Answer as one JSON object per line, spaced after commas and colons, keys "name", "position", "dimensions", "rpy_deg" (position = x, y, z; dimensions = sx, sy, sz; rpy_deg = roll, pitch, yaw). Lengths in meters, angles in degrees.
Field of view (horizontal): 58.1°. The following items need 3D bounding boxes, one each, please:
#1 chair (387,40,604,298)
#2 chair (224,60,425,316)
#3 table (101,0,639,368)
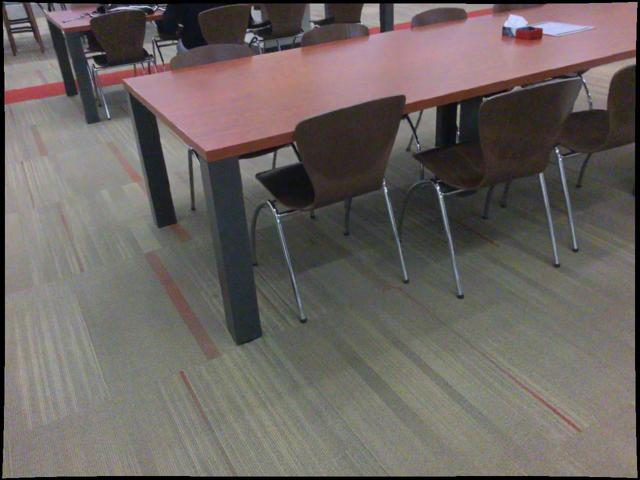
{"name": "chair", "position": [0.658, -0.321, 2.370], "dimensions": [0.509, 0.791, 0.630], "rpy_deg": [-15, 32, -16]}
{"name": "chair", "position": [0.020, -0.241, 2.320], "dimensions": [0.519, 0.771, 0.580], "rpy_deg": [-19, 33, -25]}
{"name": "table", "position": [0.678, -0.672, 3.030], "dimensions": [3.105, 0.852, 1.360], "rpy_deg": [-20, 34, -24]}
